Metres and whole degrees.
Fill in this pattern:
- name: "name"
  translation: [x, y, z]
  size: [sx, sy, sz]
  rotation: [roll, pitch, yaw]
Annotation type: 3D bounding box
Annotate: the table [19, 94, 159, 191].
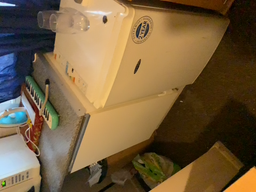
- name: "table"
  translation: [-0.350, 0.480, 1.840]
  size: [0.580, 0.910, 0.630]
  rotation: [48, 131, 29]
